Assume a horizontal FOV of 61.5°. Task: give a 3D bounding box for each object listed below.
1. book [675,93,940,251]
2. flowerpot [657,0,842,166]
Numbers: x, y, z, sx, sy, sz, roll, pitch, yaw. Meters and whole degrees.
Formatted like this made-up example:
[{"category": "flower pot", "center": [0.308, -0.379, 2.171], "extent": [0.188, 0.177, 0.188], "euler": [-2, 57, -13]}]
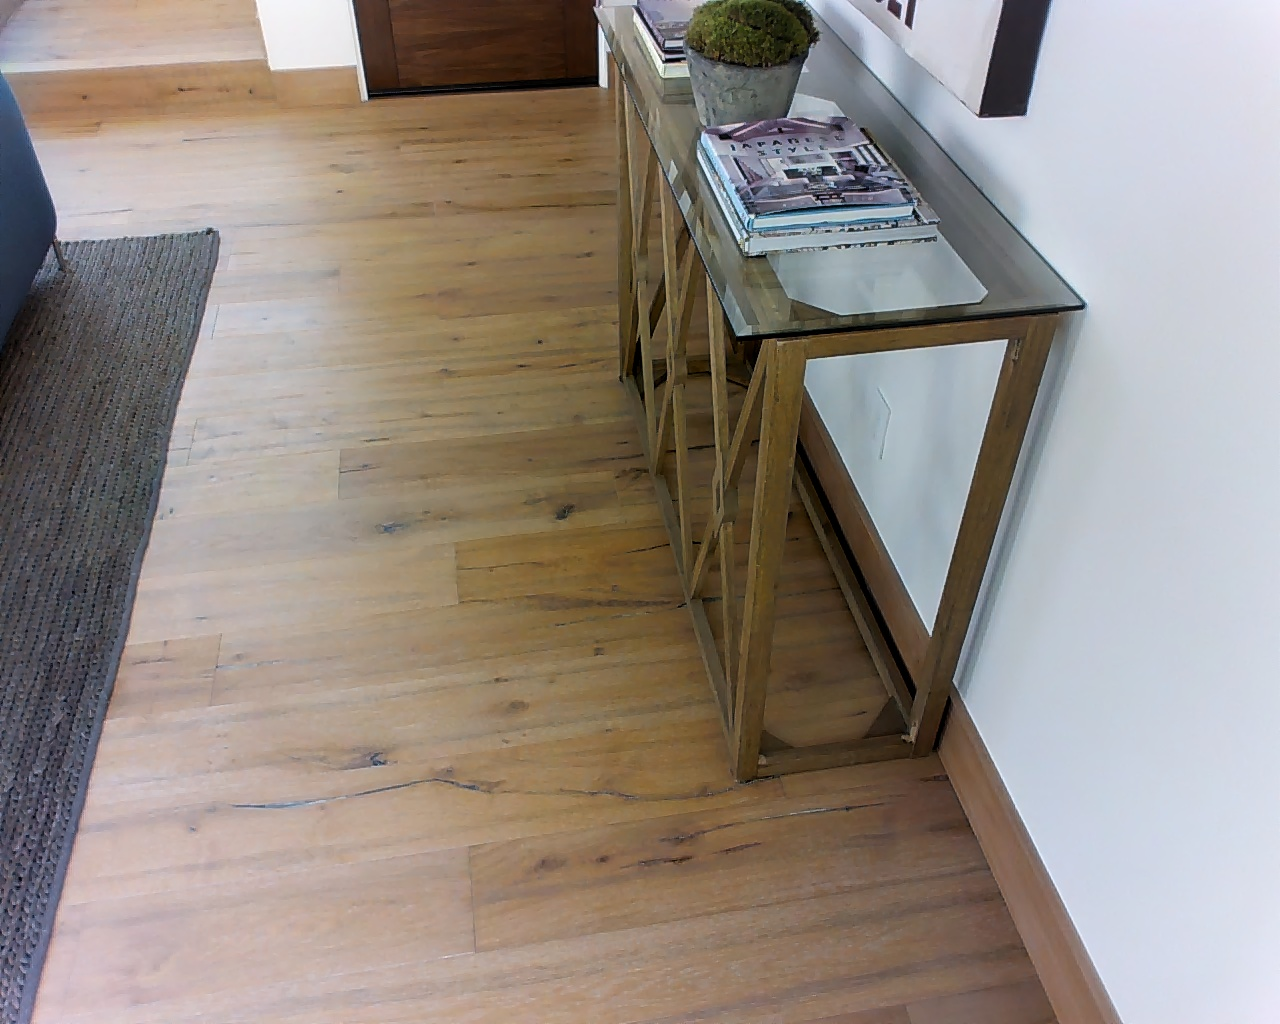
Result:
[{"category": "book", "center": [0.220, -0.490, 1.520], "extent": [0.290, 0.060, 0.350], "euler": [-5, 42, -6]}, {"category": "flowerpot", "center": [0.160, -0.720, 1.700], "extent": [0.210, 0.230, 0.250], "euler": [-9, 43, -10]}]
